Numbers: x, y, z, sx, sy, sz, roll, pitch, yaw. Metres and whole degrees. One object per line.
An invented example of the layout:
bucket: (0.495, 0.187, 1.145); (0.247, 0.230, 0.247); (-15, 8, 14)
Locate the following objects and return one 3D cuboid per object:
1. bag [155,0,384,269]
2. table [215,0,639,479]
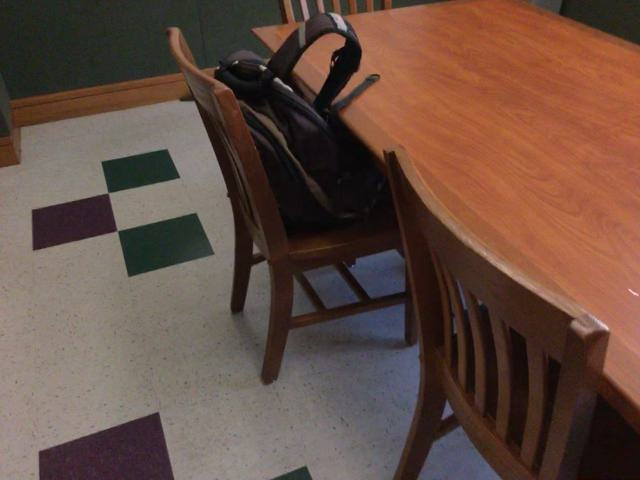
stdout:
bag: (-0.100, -0.270, 1.340); (0.410, 0.510, 0.250); (24, 44, 31)
table: (0.920, 0.460, 0.750); (1.110, 0.830, 3.590); (-16, 39, -17)
